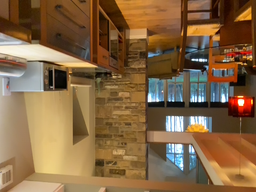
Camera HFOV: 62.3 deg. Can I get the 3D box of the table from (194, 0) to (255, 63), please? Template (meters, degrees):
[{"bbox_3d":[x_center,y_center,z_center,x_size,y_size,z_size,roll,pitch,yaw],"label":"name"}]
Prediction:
[{"bbox_3d":[1.330,-0.840,2.330,1.050,0.820,1.000,0,-178,11],"label":"table"}]

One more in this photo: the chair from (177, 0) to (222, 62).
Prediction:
[{"bbox_3d":[0.800,-0.840,2.460,0.440,0.820,0.460,0,-178,11],"label":"chair"}]
